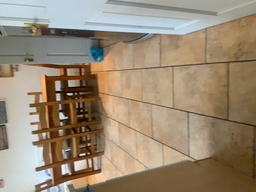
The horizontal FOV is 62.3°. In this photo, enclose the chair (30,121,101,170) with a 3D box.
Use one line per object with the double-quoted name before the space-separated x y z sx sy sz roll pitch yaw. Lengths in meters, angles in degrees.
"chair" -1.010 0.750 3.430 0.570 1.000 0.420 18 111 62
